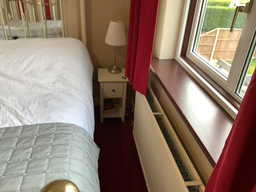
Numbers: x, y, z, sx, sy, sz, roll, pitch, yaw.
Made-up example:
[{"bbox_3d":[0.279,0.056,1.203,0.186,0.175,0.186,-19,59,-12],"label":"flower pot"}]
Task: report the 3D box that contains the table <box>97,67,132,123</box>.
[{"bbox_3d":[-0.180,-0.020,2.480,0.340,0.530,0.390,-2,30,-10],"label":"table"}]
